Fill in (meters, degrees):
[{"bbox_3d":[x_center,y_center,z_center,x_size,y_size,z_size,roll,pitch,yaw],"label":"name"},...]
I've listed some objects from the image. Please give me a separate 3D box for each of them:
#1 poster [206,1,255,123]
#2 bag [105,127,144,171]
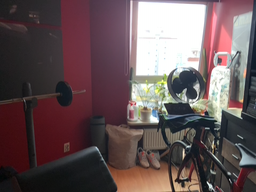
[{"bbox_3d":[1.200,-0.390,2.380,0.080,1.130,0.950,-1,11,-8],"label":"poster"},{"bbox_3d":[-0.070,0.690,2.820,0.480,0.440,0.380,0,11,-6],"label":"bag"}]
